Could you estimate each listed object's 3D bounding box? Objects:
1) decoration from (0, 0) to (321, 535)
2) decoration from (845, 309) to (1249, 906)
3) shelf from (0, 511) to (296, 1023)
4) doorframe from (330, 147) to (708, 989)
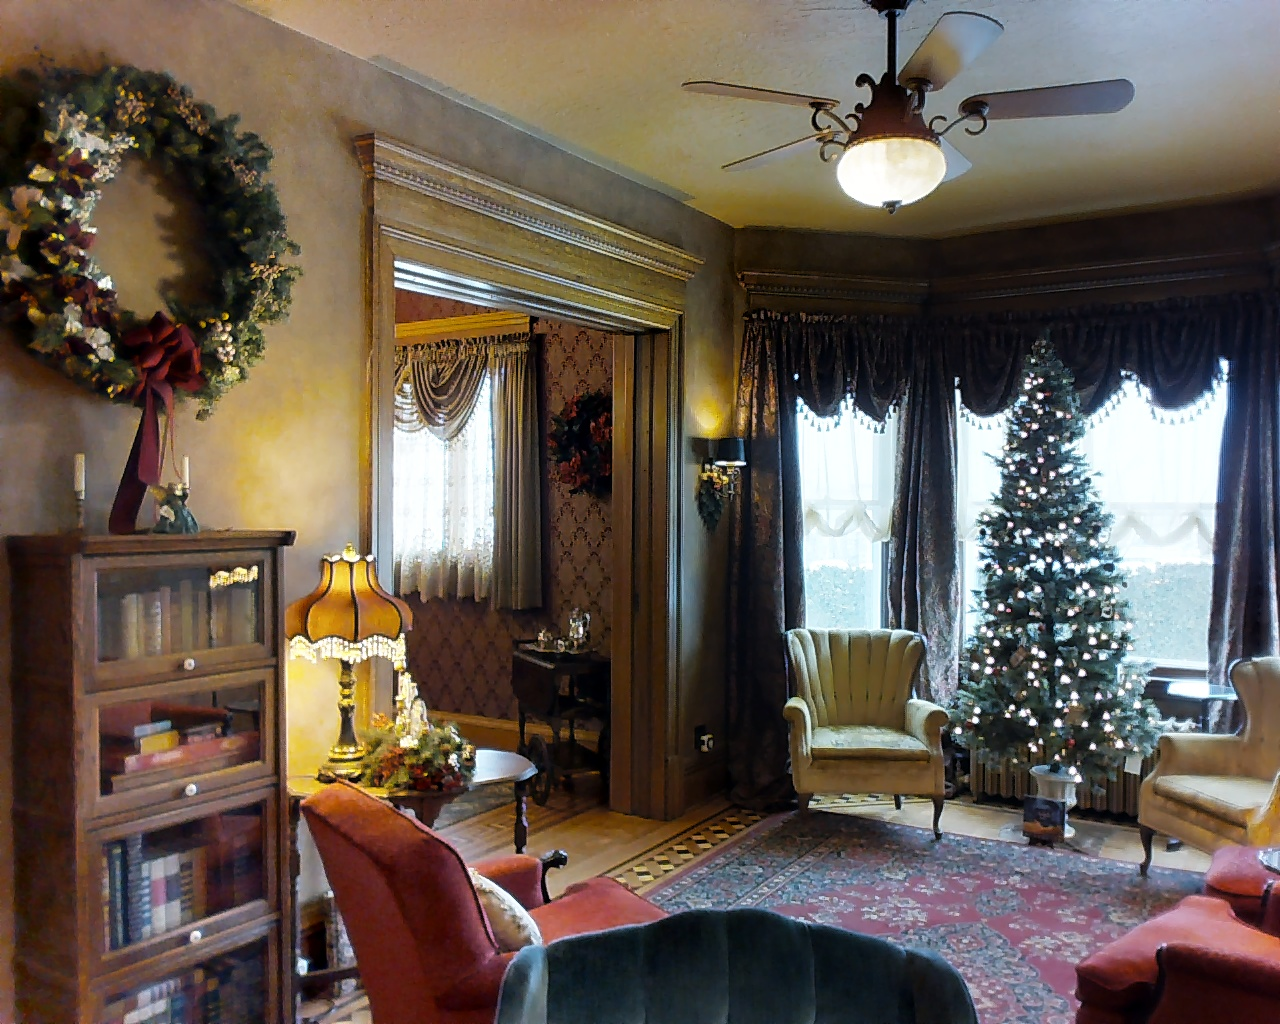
[{"bbox_3d":[-1.300,-0.590,2.840,0.260,1.290,0.930,0,-1,32],"label":"decoration"},{"bbox_3d":[1.979,0.380,5.210,1.570,2.361,1.210,0,-1,35],"label":"decoration"},{"bbox_3d":[-1.280,0.780,2.810,0.340,1.561,0.650,0,-1,32],"label":"shelf"},{"bbox_3d":[-0.360,0.190,4.500,0.290,2.751,2.120,0,-1,32],"label":"doorframe"}]
